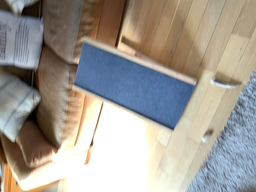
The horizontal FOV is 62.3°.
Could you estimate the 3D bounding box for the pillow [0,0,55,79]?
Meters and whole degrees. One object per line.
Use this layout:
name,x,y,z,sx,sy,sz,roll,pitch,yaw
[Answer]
pillow,-0.840,-0.410,1.570,0.200,0.360,0.420,36,95,42
